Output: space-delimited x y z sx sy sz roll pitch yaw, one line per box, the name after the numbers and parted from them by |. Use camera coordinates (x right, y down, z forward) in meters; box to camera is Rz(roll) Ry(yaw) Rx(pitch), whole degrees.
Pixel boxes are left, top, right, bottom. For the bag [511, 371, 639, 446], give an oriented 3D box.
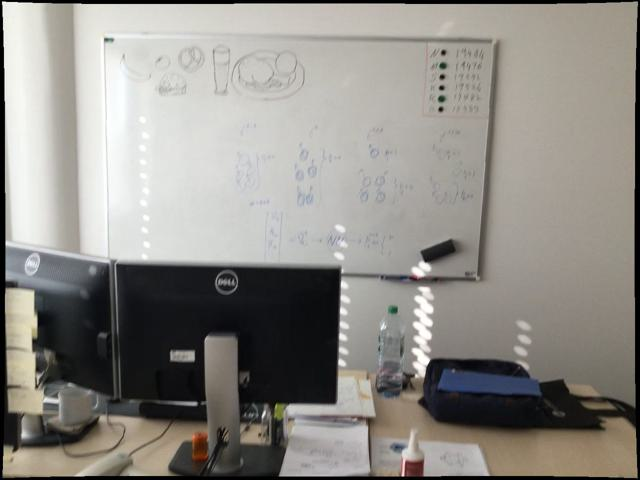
0.809 0.521 1.820 0.330 0.070 0.320 3 11 5 | bag
